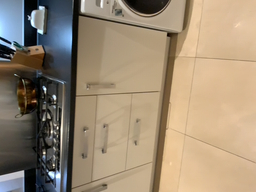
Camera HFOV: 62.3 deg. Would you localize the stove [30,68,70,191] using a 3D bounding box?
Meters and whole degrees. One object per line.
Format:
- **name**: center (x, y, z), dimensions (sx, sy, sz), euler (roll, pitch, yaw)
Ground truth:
- **stove**: center (-0.580, 0.230, 1.500), dimensions (0.600, 0.050, 0.770), euler (20, 108, 49)
